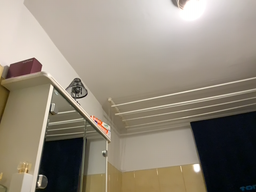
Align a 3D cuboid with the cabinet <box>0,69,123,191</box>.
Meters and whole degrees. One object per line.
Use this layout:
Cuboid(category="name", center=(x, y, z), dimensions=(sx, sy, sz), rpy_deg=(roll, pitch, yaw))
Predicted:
Cuboid(category="cabinet", center=(-0.220, 0.310, 0.940), dimensions=(0.170, 0.440, 0.790), rpy_deg=(-11, -33, 11))
